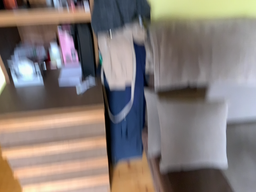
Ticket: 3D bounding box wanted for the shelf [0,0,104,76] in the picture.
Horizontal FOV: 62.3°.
[{"bbox_3d":[-0.390,-0.570,0.950,0.490,0.870,0.350,-5,37,-8],"label":"shelf"}]
